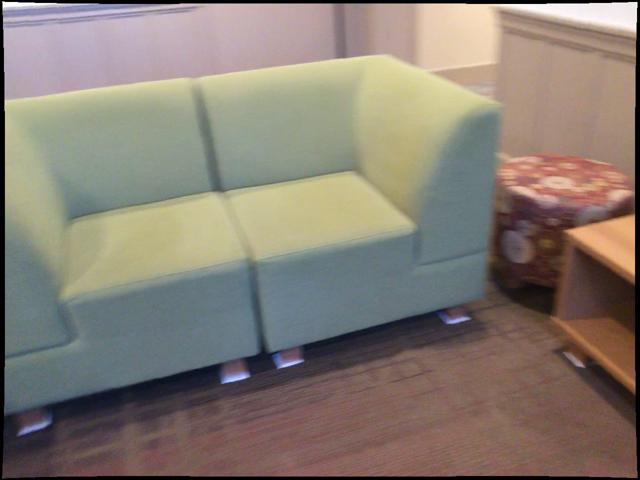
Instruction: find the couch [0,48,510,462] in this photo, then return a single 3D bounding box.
[{"bbox_3d":[-0.349,-0.060,1.940,1.646,0.802,0.800,-12,31,-15],"label":"couch"}]
